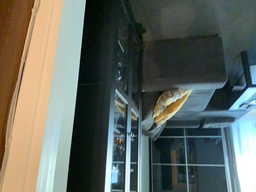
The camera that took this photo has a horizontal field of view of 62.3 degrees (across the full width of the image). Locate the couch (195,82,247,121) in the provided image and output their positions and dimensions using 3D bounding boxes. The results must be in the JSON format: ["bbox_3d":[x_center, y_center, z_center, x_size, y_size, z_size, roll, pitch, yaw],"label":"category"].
[{"bbox_3d":[1.580,0.140,3.750,0.650,0.410,0.930,-2,161,12],"label":"couch"}]

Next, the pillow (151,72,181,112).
[{"bbox_3d":[0.410,-0.050,2.290,0.290,0.380,0.240,-3,-171,11],"label":"pillow"}]

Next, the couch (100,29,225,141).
[{"bbox_3d":[0.540,0.120,3.150,1.120,0.790,2.390,-2,161,12],"label":"couch"}]
